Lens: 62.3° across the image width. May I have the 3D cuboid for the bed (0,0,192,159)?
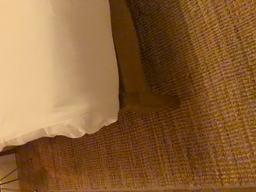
[{"bbox_3d":[-0.840,-0.360,1.510,2.060,0.700,1.480,-21,77,38],"label":"bed"}]
